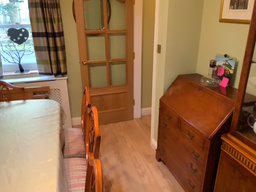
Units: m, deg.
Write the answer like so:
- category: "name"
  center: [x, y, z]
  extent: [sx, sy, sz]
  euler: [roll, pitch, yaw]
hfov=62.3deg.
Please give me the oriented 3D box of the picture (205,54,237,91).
- category: "picture"
  center: [0.800, -0.210, 1.850]
  extent: [0.090, 0.270, 0.240]
  euler: [-6, 21, -15]
